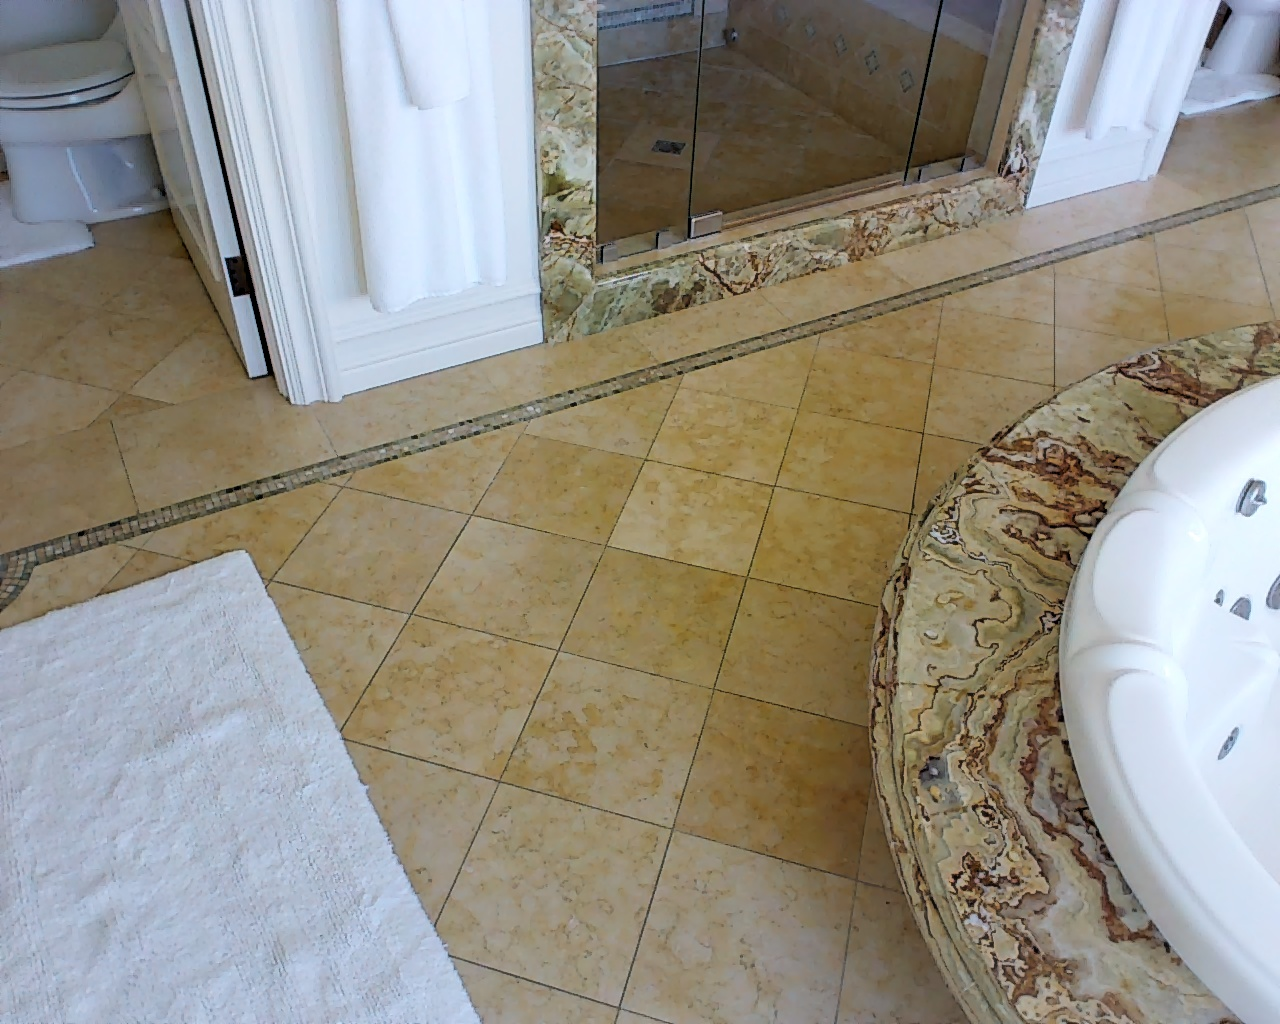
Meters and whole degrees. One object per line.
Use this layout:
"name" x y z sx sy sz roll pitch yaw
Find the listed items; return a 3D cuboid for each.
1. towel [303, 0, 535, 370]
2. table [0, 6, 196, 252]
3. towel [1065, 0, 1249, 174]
"towel" -0.450 -0.790 2.270 0.370 0.940 0.200 -19 46 -22
"table" -1.740 -1.180 3.260 0.520 0.430 0.640 -19 46 -22
"towel" 1.570 -1.480 3.140 0.350 0.880 0.200 -19 46 -22
